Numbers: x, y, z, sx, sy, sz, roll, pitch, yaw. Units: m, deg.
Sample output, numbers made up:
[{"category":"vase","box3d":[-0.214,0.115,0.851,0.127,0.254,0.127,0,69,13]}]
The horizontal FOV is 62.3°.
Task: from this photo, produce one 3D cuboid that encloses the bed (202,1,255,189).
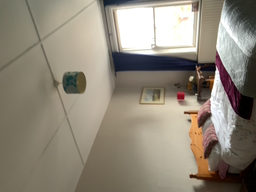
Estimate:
[{"category":"bed","box3d":[1.550,-0.050,3.010,1.580,0.540,2.120,-75,-17,-56]}]
